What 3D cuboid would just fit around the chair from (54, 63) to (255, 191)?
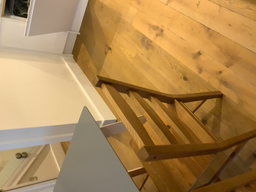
[{"bbox_3d":[0.200,0.220,1.040,0.430,0.880,0.530,51,127,36],"label":"chair"}]
